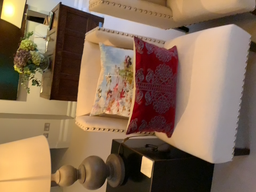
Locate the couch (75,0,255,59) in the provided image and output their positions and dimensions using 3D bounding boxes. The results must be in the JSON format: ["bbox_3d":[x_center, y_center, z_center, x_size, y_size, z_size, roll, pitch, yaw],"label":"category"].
[{"bbox_3d":[0.280,-0.750,1.430,0.910,0.900,0.800,10,94,55],"label":"couch"}]
